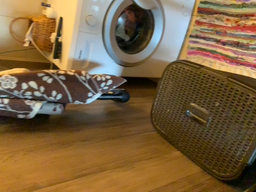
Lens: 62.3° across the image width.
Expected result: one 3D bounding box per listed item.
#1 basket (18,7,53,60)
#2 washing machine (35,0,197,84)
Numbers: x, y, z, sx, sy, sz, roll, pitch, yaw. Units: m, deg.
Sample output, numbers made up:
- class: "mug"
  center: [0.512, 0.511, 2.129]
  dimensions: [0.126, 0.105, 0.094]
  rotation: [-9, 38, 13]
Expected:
- class: "basket"
  center: [-0.580, -0.390, 1.310]
  dimensions: [0.280, 0.110, 0.250]
  rotation: [37, 119, 45]
- class: "washing machine"
  center: [-0.090, -0.490, 1.440]
  dimensions: [0.550, 0.830, 0.630]
  rotation: [36, 118, 45]
